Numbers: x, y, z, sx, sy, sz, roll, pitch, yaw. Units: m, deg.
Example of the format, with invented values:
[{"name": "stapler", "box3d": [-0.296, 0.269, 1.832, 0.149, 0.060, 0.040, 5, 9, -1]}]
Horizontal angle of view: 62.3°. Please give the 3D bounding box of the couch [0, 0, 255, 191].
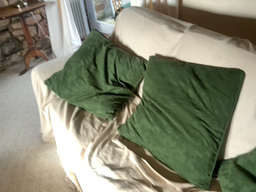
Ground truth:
[{"name": "couch", "box3d": [0.200, 0.230, 1.160, 1.030, 0.930, 2.080, -26, 44, -25]}]
